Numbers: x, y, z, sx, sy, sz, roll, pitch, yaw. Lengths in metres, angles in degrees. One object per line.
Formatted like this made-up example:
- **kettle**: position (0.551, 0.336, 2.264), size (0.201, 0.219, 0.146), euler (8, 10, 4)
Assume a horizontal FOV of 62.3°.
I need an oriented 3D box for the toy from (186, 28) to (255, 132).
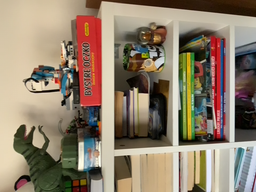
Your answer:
- **toy**: position (0.410, -0.050, 0.840), size (0.280, 0.240, 0.330), euler (180, 91, -76)
